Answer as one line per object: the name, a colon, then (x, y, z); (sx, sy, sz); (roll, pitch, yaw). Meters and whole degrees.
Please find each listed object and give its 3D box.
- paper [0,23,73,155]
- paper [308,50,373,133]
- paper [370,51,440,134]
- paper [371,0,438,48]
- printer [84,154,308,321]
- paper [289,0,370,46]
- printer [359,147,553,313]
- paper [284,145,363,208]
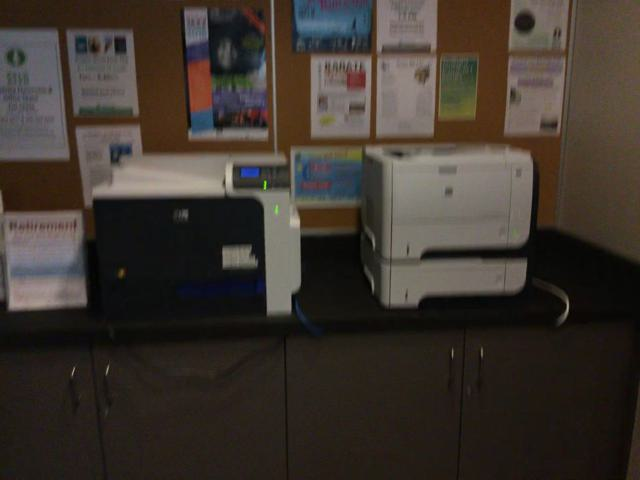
paper: (-0.990, -0.500, 1.940); (0.260, 0.420, 0.060); (-1, 11, -3)
paper: (0.070, -0.520, 2.040); (0.220, 0.280, 0.060); (-1, 11, -3)
paper: (0.300, -0.520, 2.050); (0.230, 0.280, 0.060); (-1, 11, -3)
paper: (0.290, -0.810, 1.970); (0.220, 0.290, 0.040); (-1, 11, -3)
printer: (-0.330, -0.030, 1.710); (0.570, 0.430, 0.360); (-1, 11, -4)
paper: (0.030, -0.840, 1.940); (0.270, 0.350, 0.070); (-1, 11, -3)
printer: (0.380, -0.060, 1.800); (0.450, 0.440, 0.470); (-1, 11, -4)
paper: (0.010, -0.230, 2.090); (0.280, 0.220, 0.080); (-1, 11, -3)
